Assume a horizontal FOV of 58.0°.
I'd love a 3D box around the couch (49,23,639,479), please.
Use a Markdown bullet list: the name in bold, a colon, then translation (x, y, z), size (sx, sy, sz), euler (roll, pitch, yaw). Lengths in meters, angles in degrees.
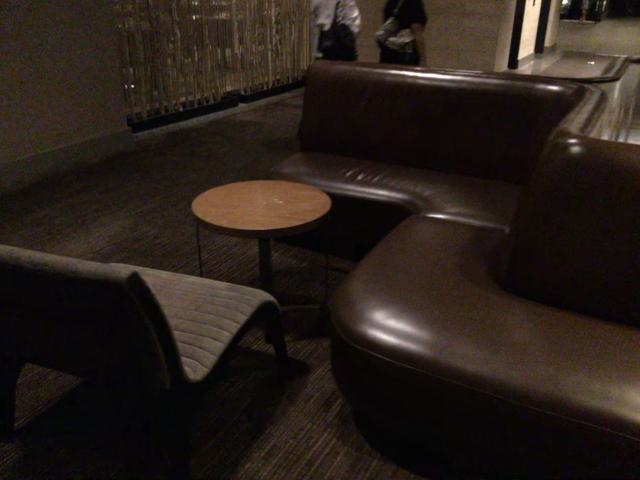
- **couch**: translation (1.770, -0.290, 2.430), size (4.030, 0.960, 3.490), euler (11, 27, 29)
